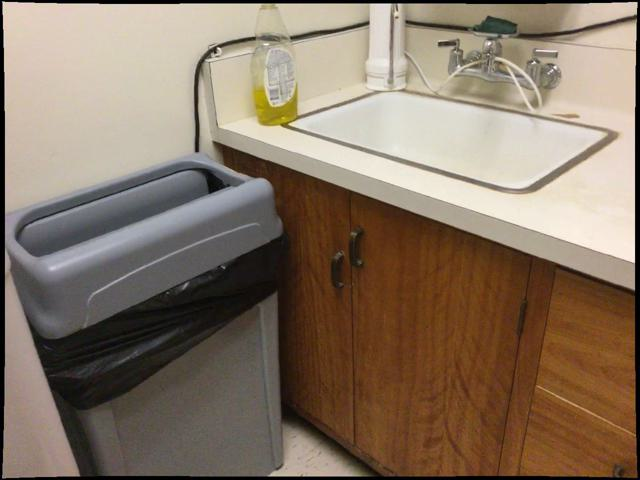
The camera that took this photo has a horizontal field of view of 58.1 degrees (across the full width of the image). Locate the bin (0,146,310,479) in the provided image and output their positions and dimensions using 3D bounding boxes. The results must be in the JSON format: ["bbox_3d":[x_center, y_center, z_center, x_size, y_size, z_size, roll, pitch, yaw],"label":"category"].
[{"bbox_3d":[-0.359,0.311,1.360,0.310,0.882,0.609,24,37,38],"label":"bin"}]

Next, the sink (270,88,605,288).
[{"bbox_3d":[0.259,-0.170,1.350,0.579,0.190,0.480,24,37,38],"label":"sink"}]
